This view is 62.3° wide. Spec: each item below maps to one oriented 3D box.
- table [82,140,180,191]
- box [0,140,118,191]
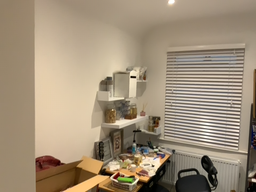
[{"bbox_3d":[0.130,1.070,2.580,0.600,0.680,1.350,4,5,29],"label":"table"},{"bbox_3d":[-0.480,0.610,1.230,0.400,0.400,1.020,3,5,26],"label":"box"}]
